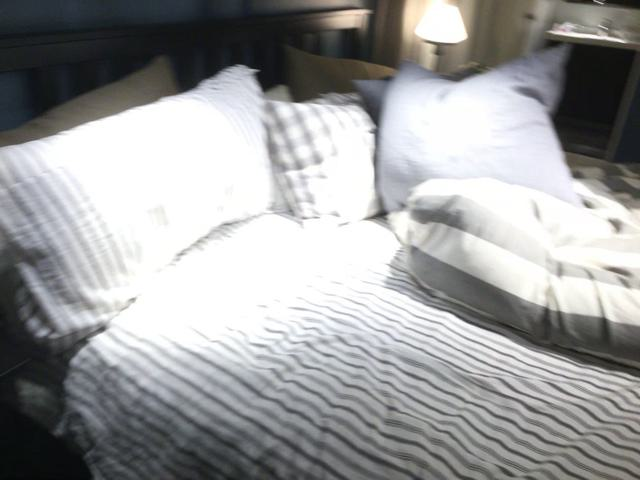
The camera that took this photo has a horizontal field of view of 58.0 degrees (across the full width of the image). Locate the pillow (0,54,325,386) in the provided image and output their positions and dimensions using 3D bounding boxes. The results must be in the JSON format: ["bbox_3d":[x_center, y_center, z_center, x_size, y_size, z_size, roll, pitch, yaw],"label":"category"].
[{"bbox_3d":[-0.390,-0.140,1.460,0.320,0.420,0.960,18,36,30],"label":"pillow"}]

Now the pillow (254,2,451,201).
[{"bbox_3d":[0.180,-0.650,2.510,0.350,0.570,0.970,18,36,30],"label":"pillow"}]

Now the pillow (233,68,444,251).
[{"bbox_3d":[0.080,-0.290,1.830,0.370,0.330,0.600,18,36,30],"label":"pillow"}]

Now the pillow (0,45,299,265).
[{"bbox_3d":[-0.480,-0.290,1.540,0.440,0.250,0.820,18,36,30],"label":"pillow"}]

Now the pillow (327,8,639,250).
[{"bbox_3d":[0.460,-0.370,1.660,0.710,0.440,0.510,18,36,30],"label":"pillow"}]
